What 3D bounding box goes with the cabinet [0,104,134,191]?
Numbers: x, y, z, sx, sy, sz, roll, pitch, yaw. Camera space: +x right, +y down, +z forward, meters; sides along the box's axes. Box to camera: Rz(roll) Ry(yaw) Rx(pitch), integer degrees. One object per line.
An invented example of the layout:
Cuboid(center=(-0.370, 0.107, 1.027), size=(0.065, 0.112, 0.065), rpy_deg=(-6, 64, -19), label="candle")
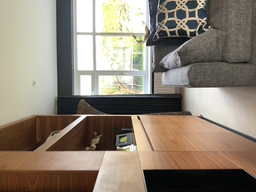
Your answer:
Cuboid(center=(-0.670, 0.490, 2.050), size=(1.580, 1.360, 0.610), rpy_deg=(-109, 20, -85), label="cabinet")
